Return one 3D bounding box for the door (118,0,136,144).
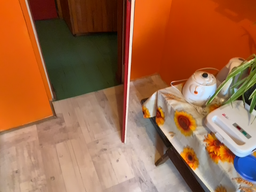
[{"bbox_3d":[0.010,-0.590,1.310,0.060,1.890,0.810,3,43,-1],"label":"door"}]
